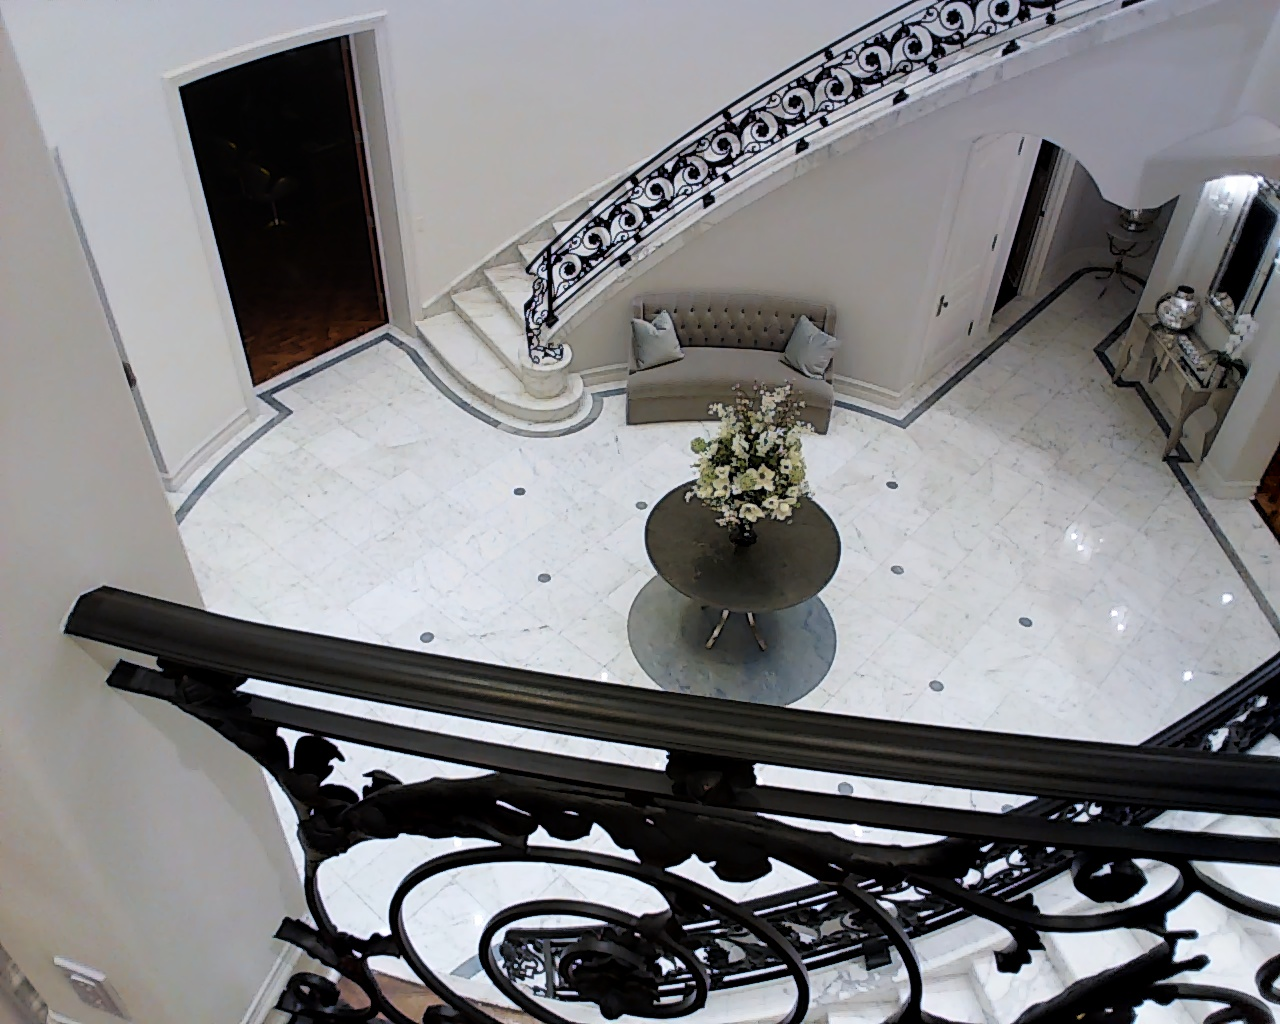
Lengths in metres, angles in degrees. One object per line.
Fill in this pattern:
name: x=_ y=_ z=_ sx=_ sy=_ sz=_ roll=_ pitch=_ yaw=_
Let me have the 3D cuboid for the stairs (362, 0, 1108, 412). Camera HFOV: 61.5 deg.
stairs: x=0.610 y=-3.100 z=9.560 sx=5.379 sy=3.650 sz=2.130 roll=-3 pitch=42 yaw=-5
